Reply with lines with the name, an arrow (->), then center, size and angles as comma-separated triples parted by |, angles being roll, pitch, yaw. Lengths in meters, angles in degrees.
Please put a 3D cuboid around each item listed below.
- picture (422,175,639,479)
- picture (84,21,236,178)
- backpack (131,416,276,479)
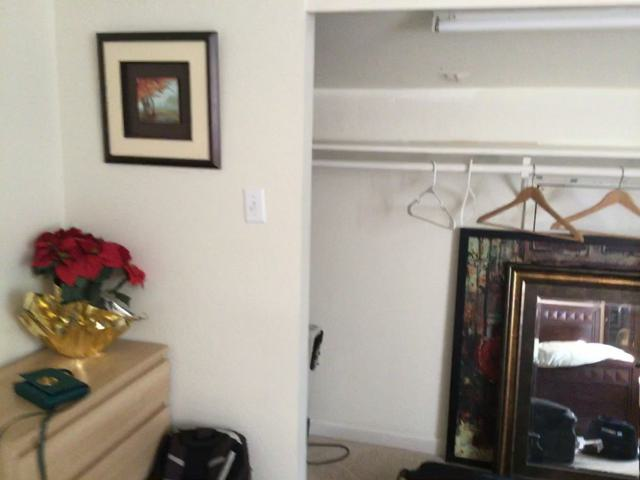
picture -> 0.990, 0.380, 2.390 | 1.000, 1.210, 0.260 | 6, 6, 11
picture -> -0.530, -0.460, 1.900 | 0.470, 0.470, 0.080 | 6, 6, 11
backpack -> -0.390, 0.880, 1.950 | 0.390, 0.420, 0.290 | 6, 6, 11
